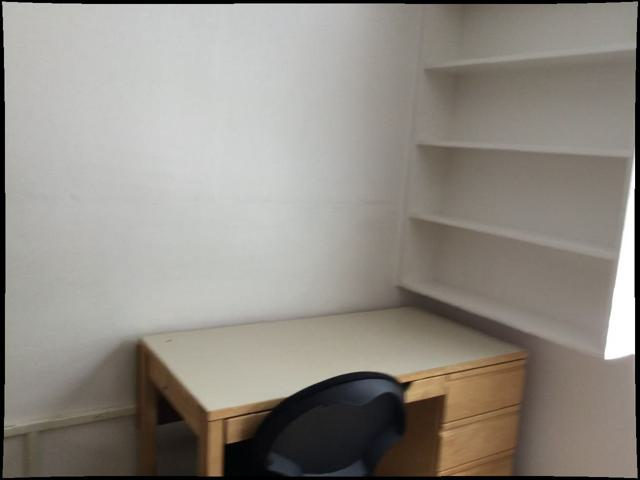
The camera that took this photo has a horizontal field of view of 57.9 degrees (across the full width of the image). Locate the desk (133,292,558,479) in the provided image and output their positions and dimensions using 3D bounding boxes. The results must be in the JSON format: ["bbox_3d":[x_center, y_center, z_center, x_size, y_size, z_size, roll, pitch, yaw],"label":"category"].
[{"bbox_3d":[0.090,0.691,2.060,1.309,0.741,0.670,-3,13,-32],"label":"desk"}]
